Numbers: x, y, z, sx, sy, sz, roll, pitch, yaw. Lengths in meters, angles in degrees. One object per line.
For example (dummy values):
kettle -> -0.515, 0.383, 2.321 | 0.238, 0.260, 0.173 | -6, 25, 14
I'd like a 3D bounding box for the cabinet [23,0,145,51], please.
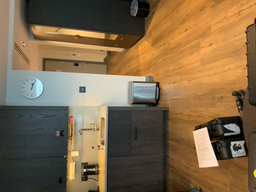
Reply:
cabinet -> -0.840, -1.450, 4.190 | 1.120, 2.050, 0.650 | 172, 99, -73
